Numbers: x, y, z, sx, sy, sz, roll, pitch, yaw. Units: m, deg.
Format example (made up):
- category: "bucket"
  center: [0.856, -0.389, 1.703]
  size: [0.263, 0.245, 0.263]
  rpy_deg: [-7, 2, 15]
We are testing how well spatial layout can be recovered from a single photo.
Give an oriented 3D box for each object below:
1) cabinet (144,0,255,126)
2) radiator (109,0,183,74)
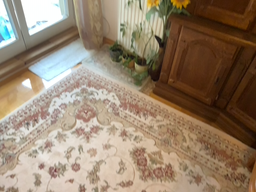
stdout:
- category: "cabinet"
  center: [0.610, -0.300, 1.830]
  size: [0.690, 0.760, 0.490]
  rpy_deg: [28, 49, 21]
- category: "radiator"
  center: [0.130, -0.740, 1.990]
  size: [0.650, 0.910, 0.160]
  rpy_deg: [31, 50, 23]
